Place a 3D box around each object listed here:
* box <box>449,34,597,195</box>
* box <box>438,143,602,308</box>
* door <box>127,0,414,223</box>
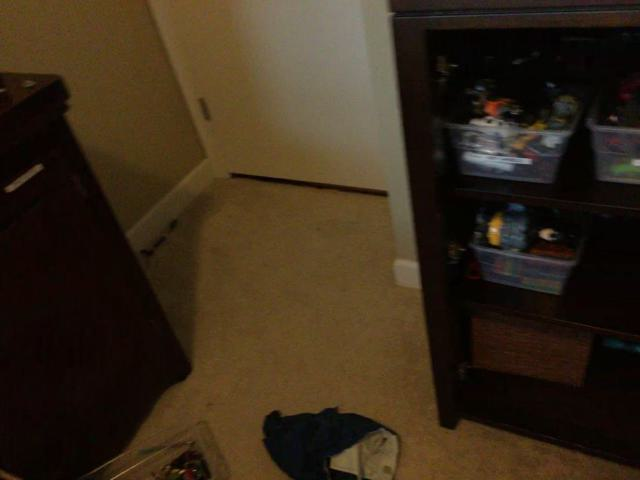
[{"bbox_3d":[0.370,-0.240,1.030,0.160,0.110,0.370,11,44,28],"label":"box"},{"bbox_3d":[0.430,-0.050,1.220,0.240,0.120,0.360,11,44,28],"label":"box"},{"bbox_3d":[-0.250,-0.890,1.680,0.870,1.830,0.180,11,44,28],"label":"door"}]
